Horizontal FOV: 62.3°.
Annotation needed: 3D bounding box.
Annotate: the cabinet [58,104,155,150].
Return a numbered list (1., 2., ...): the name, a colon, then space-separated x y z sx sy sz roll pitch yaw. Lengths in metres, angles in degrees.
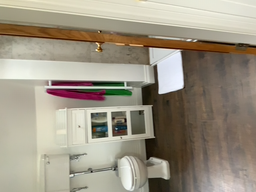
1. cabinet: -0.280 0.380 2.730 0.380 1.160 0.490 155 113 -68
